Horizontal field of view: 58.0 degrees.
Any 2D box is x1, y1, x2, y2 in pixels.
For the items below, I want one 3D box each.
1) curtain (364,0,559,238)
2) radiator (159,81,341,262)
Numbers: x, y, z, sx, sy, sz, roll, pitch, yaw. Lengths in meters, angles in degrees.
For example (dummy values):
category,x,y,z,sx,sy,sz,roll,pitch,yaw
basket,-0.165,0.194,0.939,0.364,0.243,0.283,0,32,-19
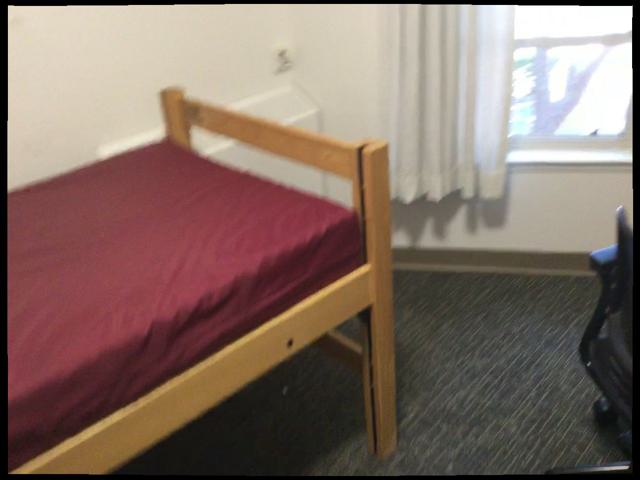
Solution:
category,x,y,z,sx,sy,sz,roll,pitch,yaw
curtain,0.459,-0.631,2.080,0.559,1.122,0.500,-3,30,3
radiator,-0.250,-0.311,2.410,0.210,0.501,0.730,24,40,39
